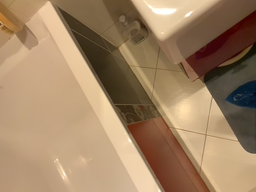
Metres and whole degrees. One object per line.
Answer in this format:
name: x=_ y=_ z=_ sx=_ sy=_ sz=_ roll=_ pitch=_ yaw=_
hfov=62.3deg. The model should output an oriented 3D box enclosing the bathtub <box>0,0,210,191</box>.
bathtub: x=-0.050 y=0.500 z=0.880 sx=0.670 sy=0.570 sz=1.490 roll=-35 pitch=77 yaw=15
